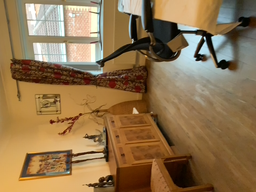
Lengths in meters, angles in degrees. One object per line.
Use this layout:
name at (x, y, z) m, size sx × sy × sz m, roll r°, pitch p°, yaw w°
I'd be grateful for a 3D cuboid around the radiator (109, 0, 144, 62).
radiator at (-0.030, -1.230, 3.510) m, size 0.120 × 0.520 × 1.360 m, roll -117°, pitch 28°, yaw -60°

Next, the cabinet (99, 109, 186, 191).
cabinet at (0.100, 0.710, 3.000) m, size 1.150 × 0.890 × 0.490 m, roll -118°, pitch 29°, yaw -61°
